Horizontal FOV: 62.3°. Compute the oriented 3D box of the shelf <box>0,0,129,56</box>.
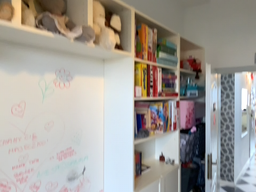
[{"bbox_3d":[-0.450,-0.480,1.090,0.290,0.350,1.170,1,1,35],"label":"shelf"}]

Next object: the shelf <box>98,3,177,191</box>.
[{"bbox_3d":[0.130,0.010,1.900,0.320,1.320,0.820,1,1,35],"label":"shelf"}]

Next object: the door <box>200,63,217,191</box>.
[{"bbox_3d":[0.930,0.730,2.410,0.100,2.070,0.970,1,1,25],"label":"door"}]
